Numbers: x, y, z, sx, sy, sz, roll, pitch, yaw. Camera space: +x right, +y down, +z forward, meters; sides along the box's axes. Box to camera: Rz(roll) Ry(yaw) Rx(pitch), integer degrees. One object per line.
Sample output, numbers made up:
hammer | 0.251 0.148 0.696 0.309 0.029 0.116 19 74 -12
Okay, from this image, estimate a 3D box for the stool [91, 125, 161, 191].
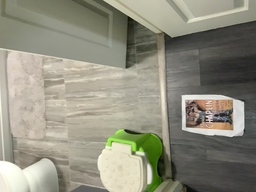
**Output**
stool | -0.010 0.370 1.210 0.340 0.200 0.340 3 93 28
